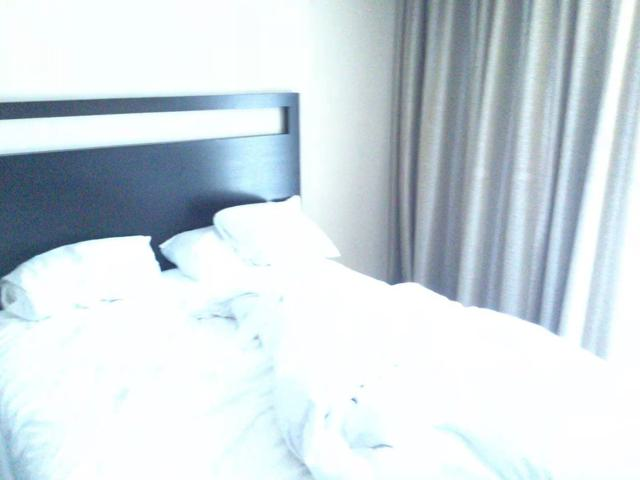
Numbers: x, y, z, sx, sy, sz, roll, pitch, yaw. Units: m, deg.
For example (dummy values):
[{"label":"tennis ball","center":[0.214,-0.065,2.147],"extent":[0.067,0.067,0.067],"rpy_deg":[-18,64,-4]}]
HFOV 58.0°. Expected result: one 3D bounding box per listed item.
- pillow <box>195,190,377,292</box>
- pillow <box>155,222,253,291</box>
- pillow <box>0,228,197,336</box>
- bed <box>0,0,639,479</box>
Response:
[{"label":"pillow","center":[-0.170,-0.030,2.780],"extent":[0.680,0.330,0.540],"rpy_deg":[-7,15,-35]},{"label":"pillow","center":[-0.520,0.060,2.560],"extent":[0.280,0.190,0.410],"rpy_deg":[-7,15,-35]},{"label":"pillow","center":[-0.900,0.140,2.320],"extent":[0.700,0.250,0.380],"rpy_deg":[-7,15,-35]},{"label":"bed","center":[-0.150,0.330,1.760],"extent":[1.730,1.530,2.420],"rpy_deg":[-7,15,-35]}]
